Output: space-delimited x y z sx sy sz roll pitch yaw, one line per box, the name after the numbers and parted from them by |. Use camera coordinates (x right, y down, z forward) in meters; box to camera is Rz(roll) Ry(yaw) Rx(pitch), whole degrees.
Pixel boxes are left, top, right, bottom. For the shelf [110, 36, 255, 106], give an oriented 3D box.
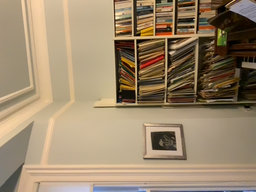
0.810 -0.340 2.750 0.430 2.020 0.800 -89 -3 -77 | shelf
